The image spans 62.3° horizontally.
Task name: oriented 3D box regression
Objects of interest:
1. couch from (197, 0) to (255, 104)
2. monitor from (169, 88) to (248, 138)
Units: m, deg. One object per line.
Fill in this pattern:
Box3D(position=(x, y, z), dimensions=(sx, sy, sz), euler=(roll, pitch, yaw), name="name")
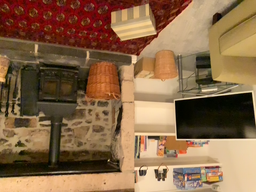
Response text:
Box3D(position=(1.230, -0.390, 1.630), dimensions=(0.990, 0.780, 0.800), euler=(2, 169, -18), name="couch")
Box3D(position=(0.910, 0.210, 2.510), dimensions=(0.860, 0.530, 0.040), euler=(-6, 170, 34), name="monitor")
